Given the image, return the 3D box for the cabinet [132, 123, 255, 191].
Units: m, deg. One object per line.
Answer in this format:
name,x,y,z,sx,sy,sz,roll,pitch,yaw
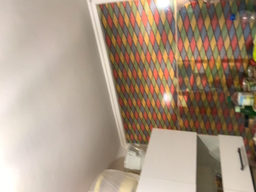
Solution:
cabinet,0.370,0.560,1.190,0.840,0.610,0.320,-64,-30,-53
